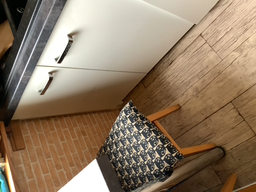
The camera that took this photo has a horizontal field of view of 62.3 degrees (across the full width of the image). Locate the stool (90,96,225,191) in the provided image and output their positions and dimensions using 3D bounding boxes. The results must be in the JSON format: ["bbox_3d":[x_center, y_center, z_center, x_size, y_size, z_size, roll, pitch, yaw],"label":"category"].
[{"bbox_3d":[0.160,0.270,1.130,0.360,0.510,0.380,44,120,33],"label":"stool"}]
